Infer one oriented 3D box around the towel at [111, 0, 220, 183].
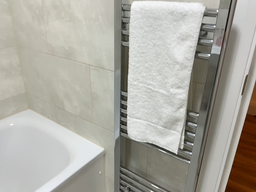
[{"bbox_3d":[0.110,-0.030,0.770,0.280,0.600,0.190,16,28,28],"label":"towel"}]
